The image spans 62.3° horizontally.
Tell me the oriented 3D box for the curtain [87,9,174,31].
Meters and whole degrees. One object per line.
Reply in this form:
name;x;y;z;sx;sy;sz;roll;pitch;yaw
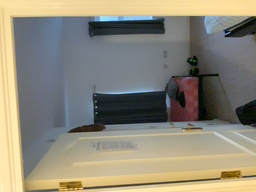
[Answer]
curtain;0.060;-1.360;3.820;0.130;1.540;0.350;-135;44;-83

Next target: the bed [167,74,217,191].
bed;1.070;0.650;3.740;1.060;0.480;2.030;-143;51;-83
